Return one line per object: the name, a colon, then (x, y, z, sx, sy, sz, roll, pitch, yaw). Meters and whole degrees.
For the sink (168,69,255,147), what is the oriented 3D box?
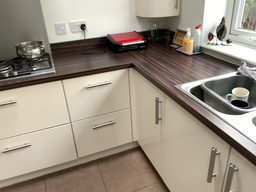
sink: (0.540, 0.030, 1.160, 0.500, 0.170, 0.380, -12, 29, -16)

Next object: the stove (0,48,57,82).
stove: (-0.950, -0.220, 1.580, 0.770, 0.040, 0.570, -12, 29, -17)
